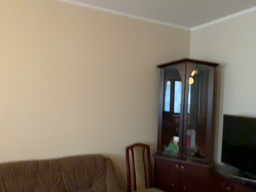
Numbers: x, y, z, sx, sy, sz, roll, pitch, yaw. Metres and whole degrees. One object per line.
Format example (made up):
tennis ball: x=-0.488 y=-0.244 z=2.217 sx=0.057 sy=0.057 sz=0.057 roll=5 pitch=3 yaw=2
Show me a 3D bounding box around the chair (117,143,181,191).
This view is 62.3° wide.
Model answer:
chair: x=0.220 y=1.120 z=2.540 sx=0.470 sy=0.950 sz=0.630 roll=2 pitch=1 yaw=-27
